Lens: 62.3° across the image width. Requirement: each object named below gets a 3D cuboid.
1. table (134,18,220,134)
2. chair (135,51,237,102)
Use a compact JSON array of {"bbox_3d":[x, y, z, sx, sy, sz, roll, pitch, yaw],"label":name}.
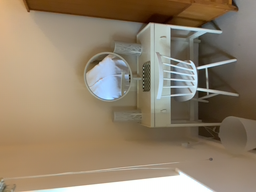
[{"bbox_3d":[0.500,-0.180,2.250,0.440,0.780,1.050,180,90,-72],"label":"table"},{"bbox_3d":[0.540,-0.150,2.100,0.530,0.800,0.410,171,99,-72],"label":"chair"}]
